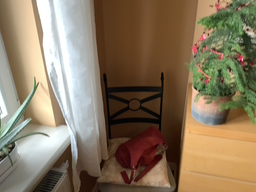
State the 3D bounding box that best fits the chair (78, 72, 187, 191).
[{"bbox_3d":[0.040,0.410,1.550,0.530,0.980,0.680,1,26,3],"label":"chair"}]
